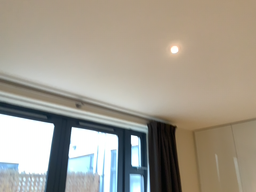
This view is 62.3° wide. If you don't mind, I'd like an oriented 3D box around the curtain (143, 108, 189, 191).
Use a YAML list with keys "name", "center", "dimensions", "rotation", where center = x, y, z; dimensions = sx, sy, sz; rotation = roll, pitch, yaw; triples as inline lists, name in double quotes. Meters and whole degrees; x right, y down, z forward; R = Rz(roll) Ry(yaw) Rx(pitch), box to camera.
- name: "curtain"
  center: [0.380, 1.320, 1.900]
  dimensions: [0.380, 2.410, 0.240]
  rotation: [18, -29, -37]
